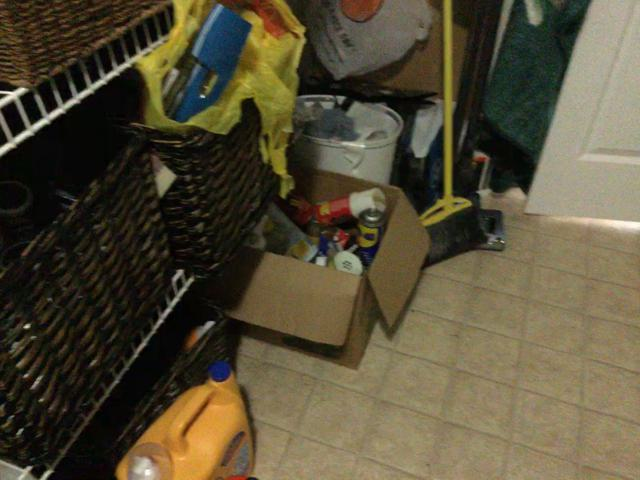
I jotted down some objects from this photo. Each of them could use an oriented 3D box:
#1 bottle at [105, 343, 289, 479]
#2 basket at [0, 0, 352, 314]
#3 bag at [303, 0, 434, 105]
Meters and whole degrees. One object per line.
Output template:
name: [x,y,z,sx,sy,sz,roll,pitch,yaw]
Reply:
bottle: [-0.210,0.420,1.110,0.190,0.300,0.270,14,45,17]
basket: [-0.200,-0.230,1.020,0.380,0.460,0.440,14,45,17]
bag: [0.140,-0.650,1.670,0.340,0.430,0.160,14,45,17]
